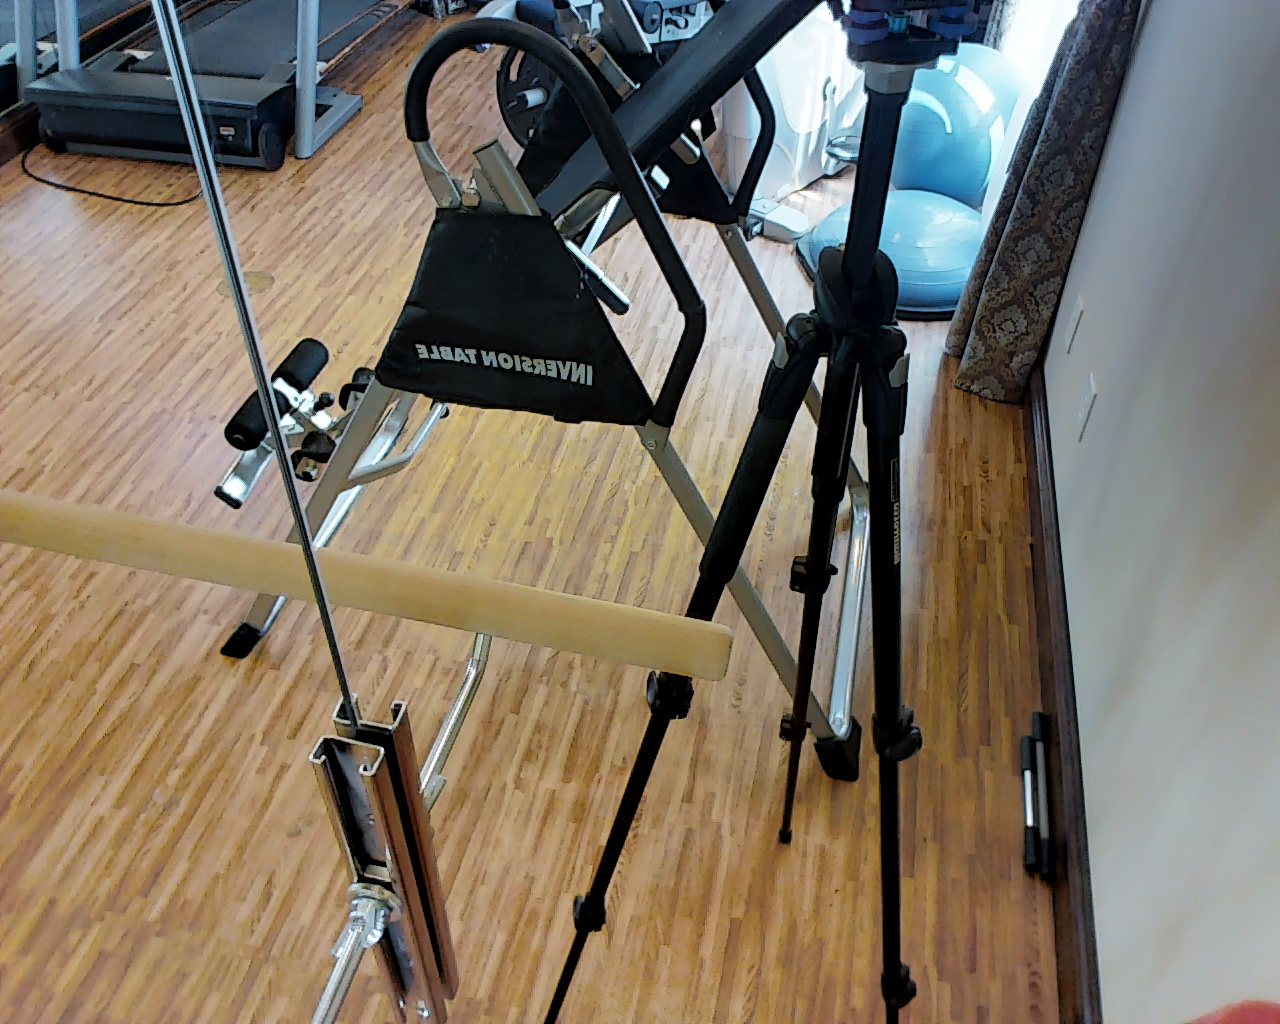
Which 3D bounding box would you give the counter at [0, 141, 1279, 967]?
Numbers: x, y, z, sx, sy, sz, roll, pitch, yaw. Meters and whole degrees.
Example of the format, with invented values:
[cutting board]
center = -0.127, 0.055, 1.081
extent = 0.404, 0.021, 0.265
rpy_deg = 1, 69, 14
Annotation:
[counter]
center = -0.230, -0.100, 1.180
extent = 1.800, 0.130, 0.780
rpy_deg = 10, 43, 10
